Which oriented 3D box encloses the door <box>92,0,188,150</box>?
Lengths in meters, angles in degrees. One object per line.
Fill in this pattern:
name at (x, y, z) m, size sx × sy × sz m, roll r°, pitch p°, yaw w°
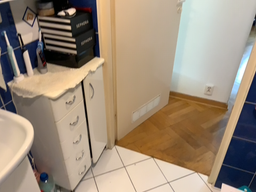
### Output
door at (0.170, -0.620, 1.660) m, size 0.100 × 2.070 × 1.060 m, roll 25°, pitch 41°, yaw 32°
